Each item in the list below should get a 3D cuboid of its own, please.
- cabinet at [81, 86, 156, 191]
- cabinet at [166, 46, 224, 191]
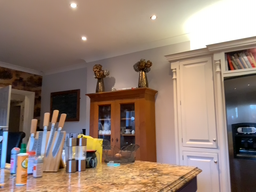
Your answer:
[{"bbox_3d":[-0.160,0.780,3.440,1.150,1.750,0.400,-4,-9,31],"label":"cabinet"},{"bbox_3d":[0.900,0.480,2.900,0.640,2.200,0.310,-4,-9,31],"label":"cabinet"}]
